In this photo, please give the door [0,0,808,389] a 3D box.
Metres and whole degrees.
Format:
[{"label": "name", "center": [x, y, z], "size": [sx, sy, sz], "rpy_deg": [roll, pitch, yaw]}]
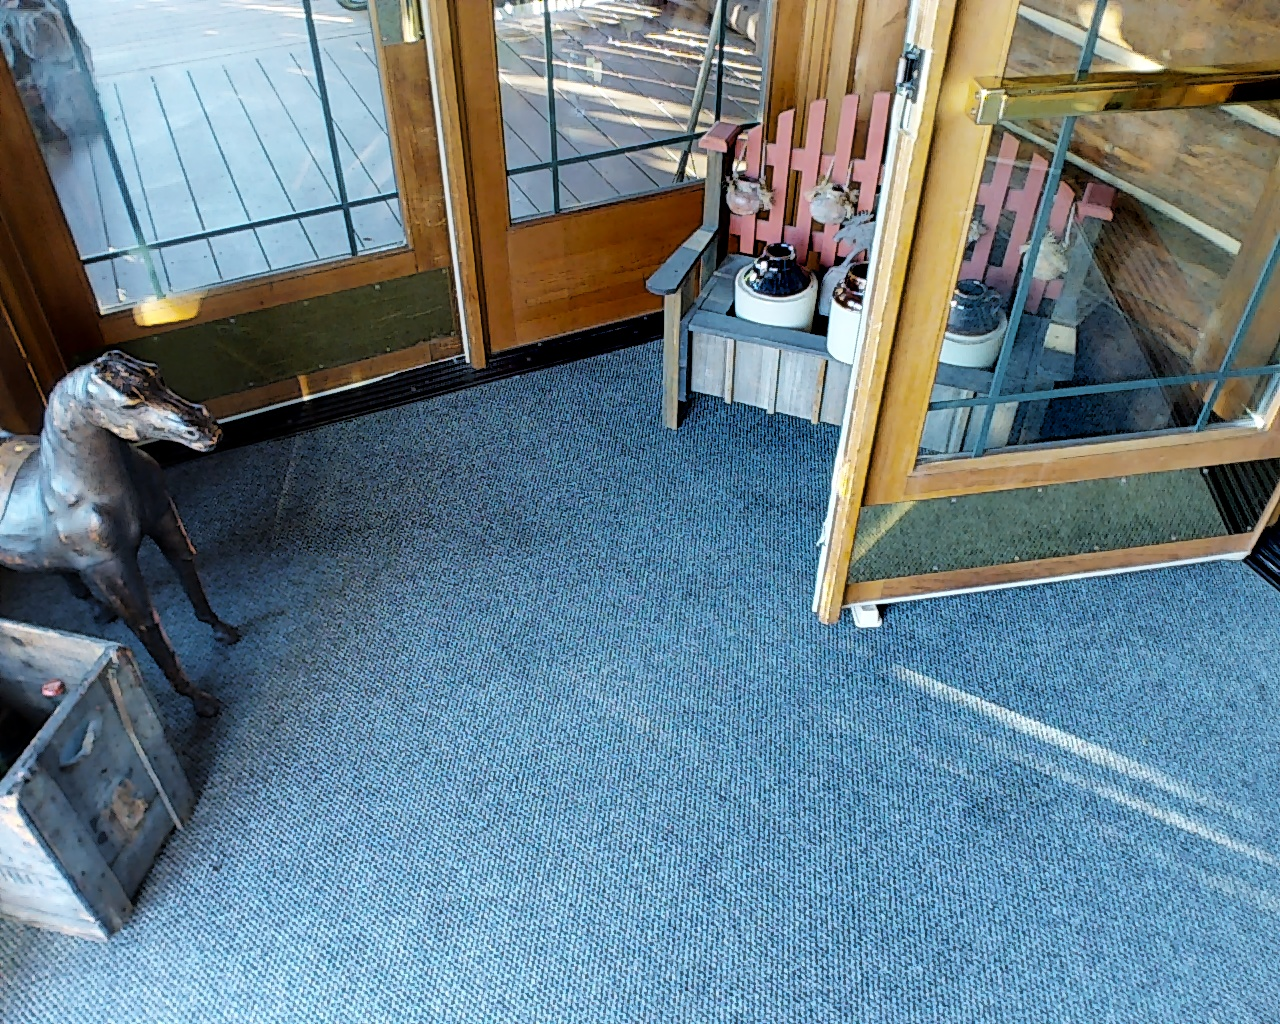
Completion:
[{"label": "door", "center": [-0.430, -1.250, 2.030], "size": [1.790, 1.900, 0.070], "rpy_deg": [-18, 45, -18]}]
